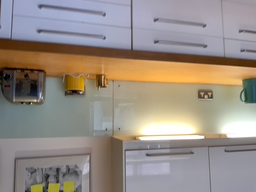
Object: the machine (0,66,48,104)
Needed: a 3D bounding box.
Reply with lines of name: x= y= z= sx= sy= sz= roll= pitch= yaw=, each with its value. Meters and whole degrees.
machine: x=-0.670 y=-0.060 z=1.390 sx=0.260 sy=0.210 sz=0.220 roll=1 pitch=174 yaw=-17
